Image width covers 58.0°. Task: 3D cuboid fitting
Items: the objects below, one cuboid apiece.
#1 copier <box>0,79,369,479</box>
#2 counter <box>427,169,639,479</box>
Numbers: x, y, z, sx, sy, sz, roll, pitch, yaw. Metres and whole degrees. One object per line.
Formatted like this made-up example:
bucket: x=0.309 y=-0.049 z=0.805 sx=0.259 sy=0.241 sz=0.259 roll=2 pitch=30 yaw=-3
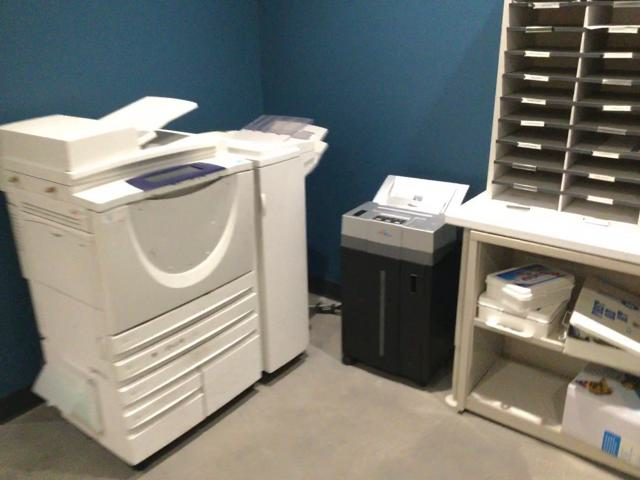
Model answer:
copier: x=-0.470 y=0.030 z=2.180 sx=0.680 sy=1.110 sz=1.290 roll=13 pitch=25 yaw=37
counter: x=1.150 y=0.330 z=1.650 sx=1.620 sy=0.820 sz=0.470 roll=13 pitch=25 yaw=37
